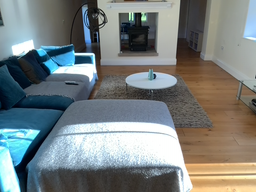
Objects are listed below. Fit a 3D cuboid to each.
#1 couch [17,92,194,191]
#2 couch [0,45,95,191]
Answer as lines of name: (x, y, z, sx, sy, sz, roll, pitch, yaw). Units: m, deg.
couch: (-0.160, 0.470, 2.290, 1.280, 0.530, 1.420, 0, 23, 1)
couch: (-1.440, -0.030, 3.100, 1.310, 0.830, 3.480, 0, 23, 1)
